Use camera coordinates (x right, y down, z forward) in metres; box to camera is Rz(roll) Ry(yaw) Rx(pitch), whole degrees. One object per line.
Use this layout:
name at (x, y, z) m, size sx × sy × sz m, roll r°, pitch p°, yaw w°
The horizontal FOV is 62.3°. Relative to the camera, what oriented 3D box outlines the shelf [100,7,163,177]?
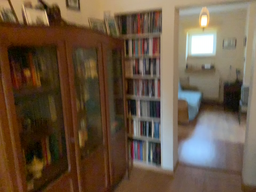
shelf at (0.050, 0.000, 2.740) m, size 0.780 × 2.070 × 0.100 m, roll 4°, pitch 12°, yaw 23°
